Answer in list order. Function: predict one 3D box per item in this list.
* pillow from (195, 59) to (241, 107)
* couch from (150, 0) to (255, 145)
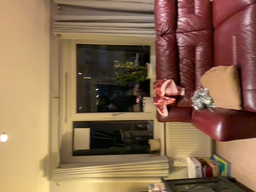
[{"bbox_3d":[0.790,-0.100,1.930,0.550,0.120,0.370,175,95,-83],"label":"pillow"},{"bbox_3d":[0.780,-0.710,2.080,1.140,0.900,2.100,-179,89,-83],"label":"couch"}]
